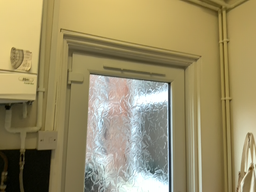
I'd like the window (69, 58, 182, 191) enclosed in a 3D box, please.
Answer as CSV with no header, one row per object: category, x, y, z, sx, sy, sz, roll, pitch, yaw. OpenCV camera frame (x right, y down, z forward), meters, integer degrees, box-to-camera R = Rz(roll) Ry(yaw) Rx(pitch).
window,0.020,0.360,1.410,0.750,1.090,0.150,5,-8,-28
